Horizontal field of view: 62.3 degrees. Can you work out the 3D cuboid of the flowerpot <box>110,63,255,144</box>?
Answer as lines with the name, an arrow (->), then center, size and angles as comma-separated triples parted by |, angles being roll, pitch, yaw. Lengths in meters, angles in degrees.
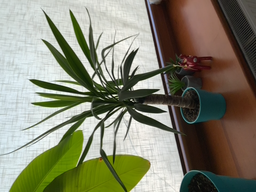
flowerpot -> 0.200, 0.040, 0.880 | 0.220, 0.500, 0.230 | 115, 152, -54
